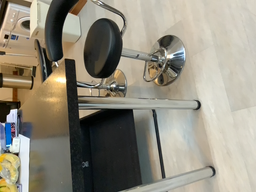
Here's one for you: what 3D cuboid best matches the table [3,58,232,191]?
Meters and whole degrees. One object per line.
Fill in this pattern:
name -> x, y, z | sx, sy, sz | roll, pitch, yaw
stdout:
table -> -0.240, 0.390, 1.490 | 1.380, 0.910, 0.670 | -24, 69, 48
